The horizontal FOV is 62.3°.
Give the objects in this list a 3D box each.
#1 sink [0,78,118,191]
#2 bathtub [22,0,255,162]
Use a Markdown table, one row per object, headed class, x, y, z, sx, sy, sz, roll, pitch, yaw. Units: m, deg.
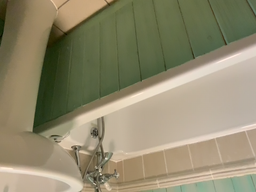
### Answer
| class | x | y | z | sx | sy | sz | roll | pitch | yaw |
| --- | --- | --- | --- | --- | --- | --- | --- | --- | --- |
| sink | -0.380 | 0.170 | 0.640 | 0.460 | 0.180 | 0.540 | -21 | 146 | 28 |
| bathtub | 0.370 | -0.190 | 0.960 | 1.640 | 0.570 | 0.660 | -21 | 146 | 27 |
